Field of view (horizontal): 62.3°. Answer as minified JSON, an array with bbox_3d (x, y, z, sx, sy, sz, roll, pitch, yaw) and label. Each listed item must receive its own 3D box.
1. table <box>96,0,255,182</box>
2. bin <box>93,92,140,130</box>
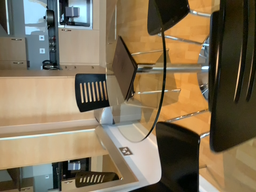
[{"bbox_3d":[0.280,-0.080,1.280,0.730,0.750,0.790,177,90,-68],"label":"table"},{"bbox_3d":[-0.160,0.170,2.730,0.370,0.500,0.360,-146,56,-64],"label":"bin"}]
